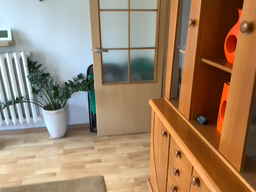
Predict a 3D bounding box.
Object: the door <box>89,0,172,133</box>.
[{"bbox_3d":[0.030,-0.510,2.390,0.860,2.010,0.080,-3,22,-9],"label":"door"}]
